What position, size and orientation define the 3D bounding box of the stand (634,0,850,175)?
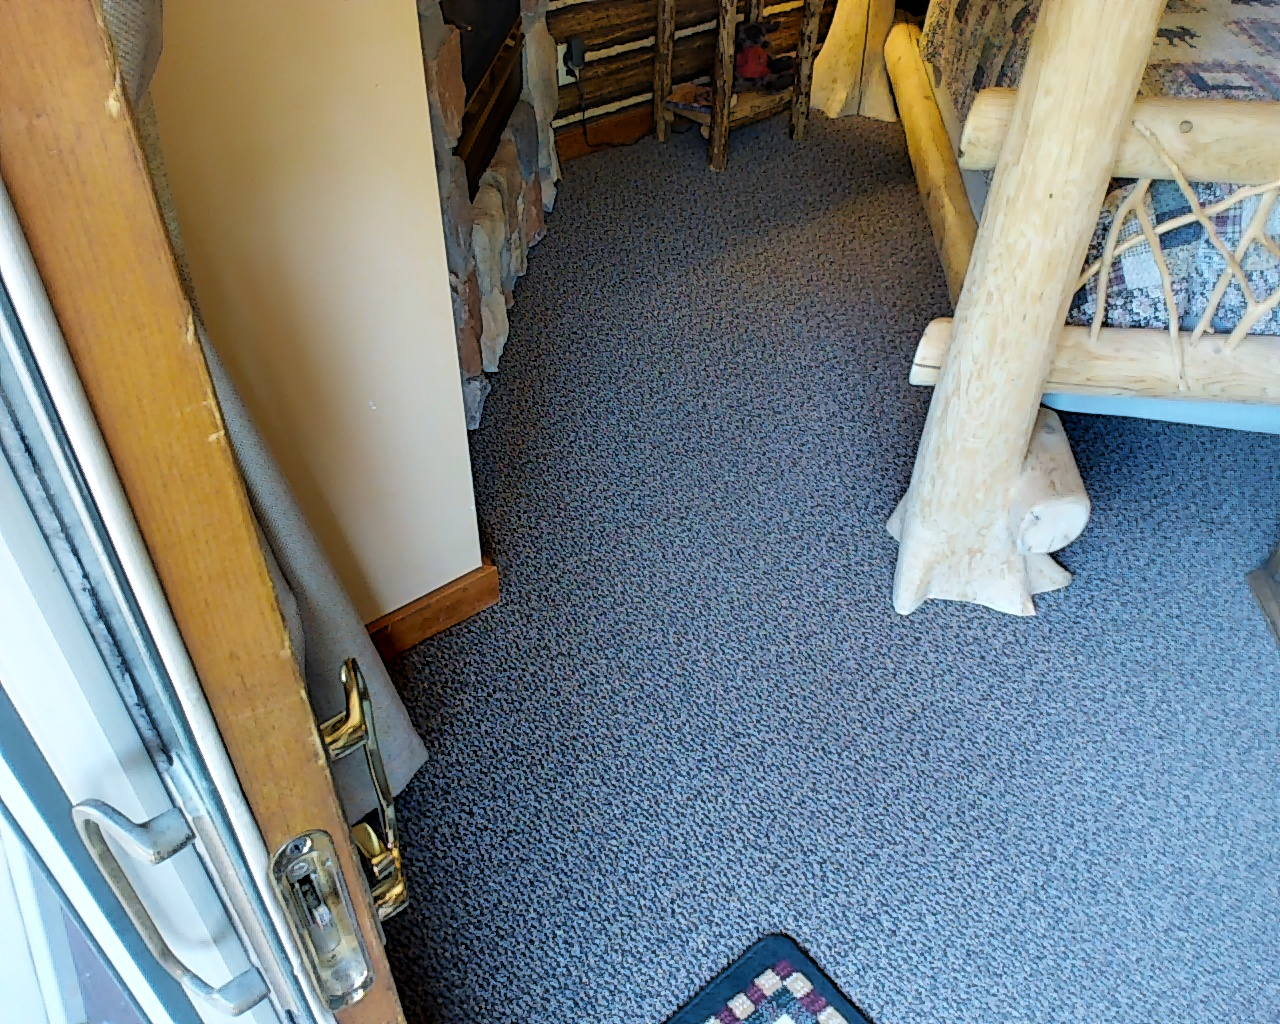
[{"bbox_3d":[0.320,-1.510,3.440,0.540,0.610,0.410,-29,50,-29],"label":"stand"}]
